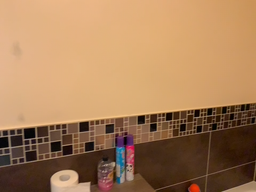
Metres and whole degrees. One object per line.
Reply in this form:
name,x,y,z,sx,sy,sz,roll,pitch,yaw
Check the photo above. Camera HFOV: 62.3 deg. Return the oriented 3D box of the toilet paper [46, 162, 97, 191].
toilet paper,-0.240,0.390,0.890,0.180,0.140,0.150,-3,11,-26
